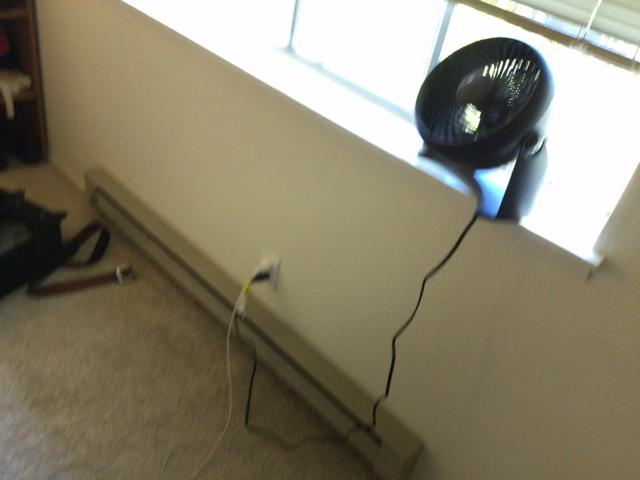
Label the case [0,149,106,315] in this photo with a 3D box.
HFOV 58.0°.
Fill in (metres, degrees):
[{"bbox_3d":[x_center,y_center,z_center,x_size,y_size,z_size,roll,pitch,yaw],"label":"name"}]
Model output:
[{"bbox_3d":[-1.240,-0.040,1.880,0.760,0.190,0.690,28,38,20],"label":"case"}]
